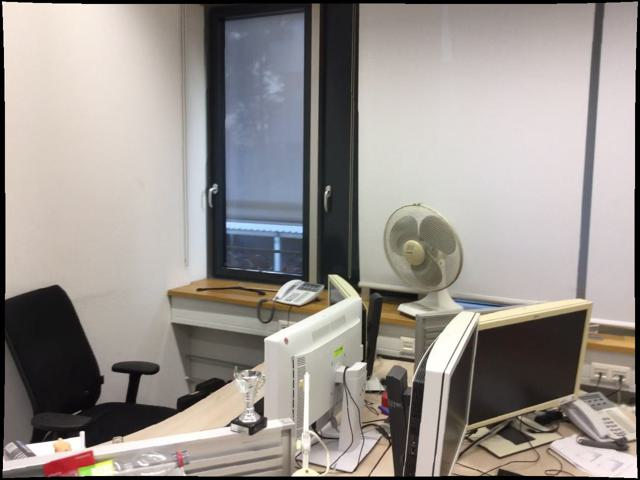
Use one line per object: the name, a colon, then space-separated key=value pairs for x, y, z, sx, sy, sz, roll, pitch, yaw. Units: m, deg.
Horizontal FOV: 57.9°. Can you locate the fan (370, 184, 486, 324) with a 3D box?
fan: x=0.509 y=0.040 z=2.740 sx=0.410 sy=0.571 sz=0.350 roll=7 pitch=13 yaw=40

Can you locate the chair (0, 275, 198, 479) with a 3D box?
chair: x=-0.999 y=0.721 z=2.530 sx=0.709 sy=1.021 sz=0.600 roll=0 pitch=10 yaw=6
